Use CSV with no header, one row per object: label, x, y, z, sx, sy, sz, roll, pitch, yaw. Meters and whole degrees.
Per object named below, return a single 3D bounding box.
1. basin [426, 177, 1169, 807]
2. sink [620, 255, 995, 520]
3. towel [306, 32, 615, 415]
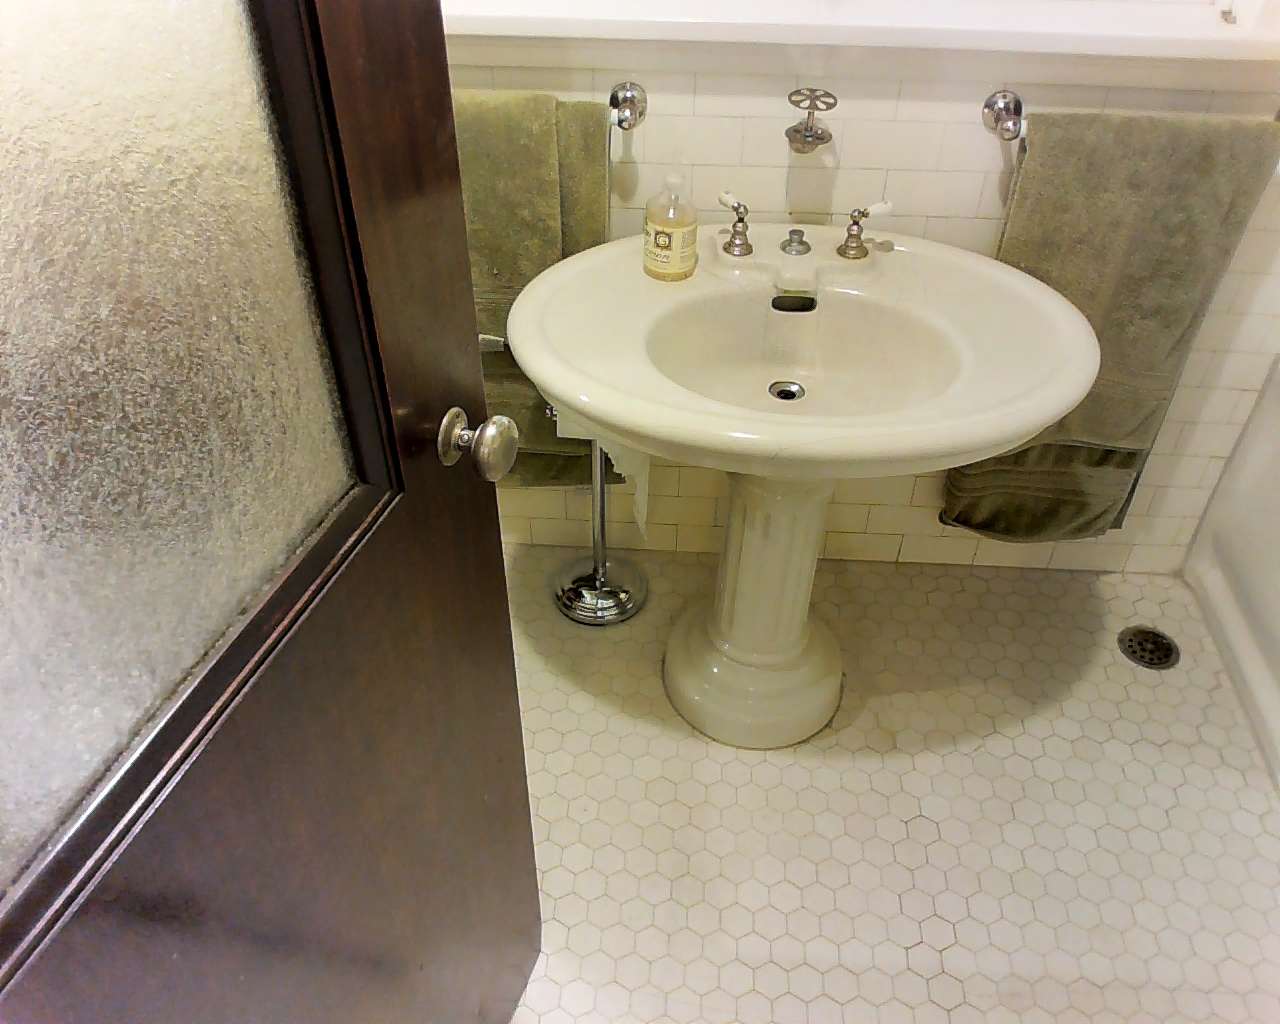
basin,0.200,-0.030,1.790,0.890,0.790,0.630,3,42,2
sink,0.220,-0.190,1.550,0.470,0.180,0.370,3,42,2
towel,-0.270,-0.450,1.770,0.430,0.580,0.140,5,42,1
